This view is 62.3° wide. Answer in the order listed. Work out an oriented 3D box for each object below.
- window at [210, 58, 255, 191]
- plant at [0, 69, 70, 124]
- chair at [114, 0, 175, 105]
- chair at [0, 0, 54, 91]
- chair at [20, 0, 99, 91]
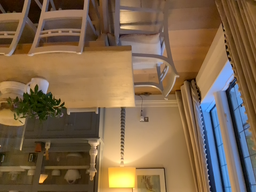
[{"bbox_3d":[1.300,0.610,2.140,0.060,1.770,1.780,0,156,0],"label":"window"},{"bbox_3d":[-0.800,0.020,1.750,0.480,0.300,0.400,-2,156,4],"label":"plant"},{"bbox_3d":[0.130,-0.420,1.990,0.450,0.860,0.540,-1,156,1],"label":"chair"},{"bbox_3d":[-0.960,-0.530,1.760,0.400,0.860,0.460,-1,156,2],"label":"chair"},{"bbox_3d":[-0.490,-0.530,1.740,0.390,0.860,0.460,-1,156,2],"label":"chair"}]
